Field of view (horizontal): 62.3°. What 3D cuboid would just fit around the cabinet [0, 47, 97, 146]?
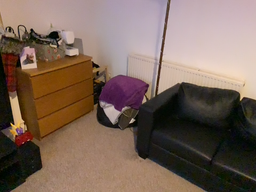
[{"bbox_3d":[-0.870,-0.060,2.480,0.550,0.780,0.890,21,31,30],"label":"cabinet"}]

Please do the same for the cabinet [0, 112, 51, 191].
[{"bbox_3d":[-1.220,0.590,1.550,0.460,0.410,1.150,22,32,31],"label":"cabinet"}]
